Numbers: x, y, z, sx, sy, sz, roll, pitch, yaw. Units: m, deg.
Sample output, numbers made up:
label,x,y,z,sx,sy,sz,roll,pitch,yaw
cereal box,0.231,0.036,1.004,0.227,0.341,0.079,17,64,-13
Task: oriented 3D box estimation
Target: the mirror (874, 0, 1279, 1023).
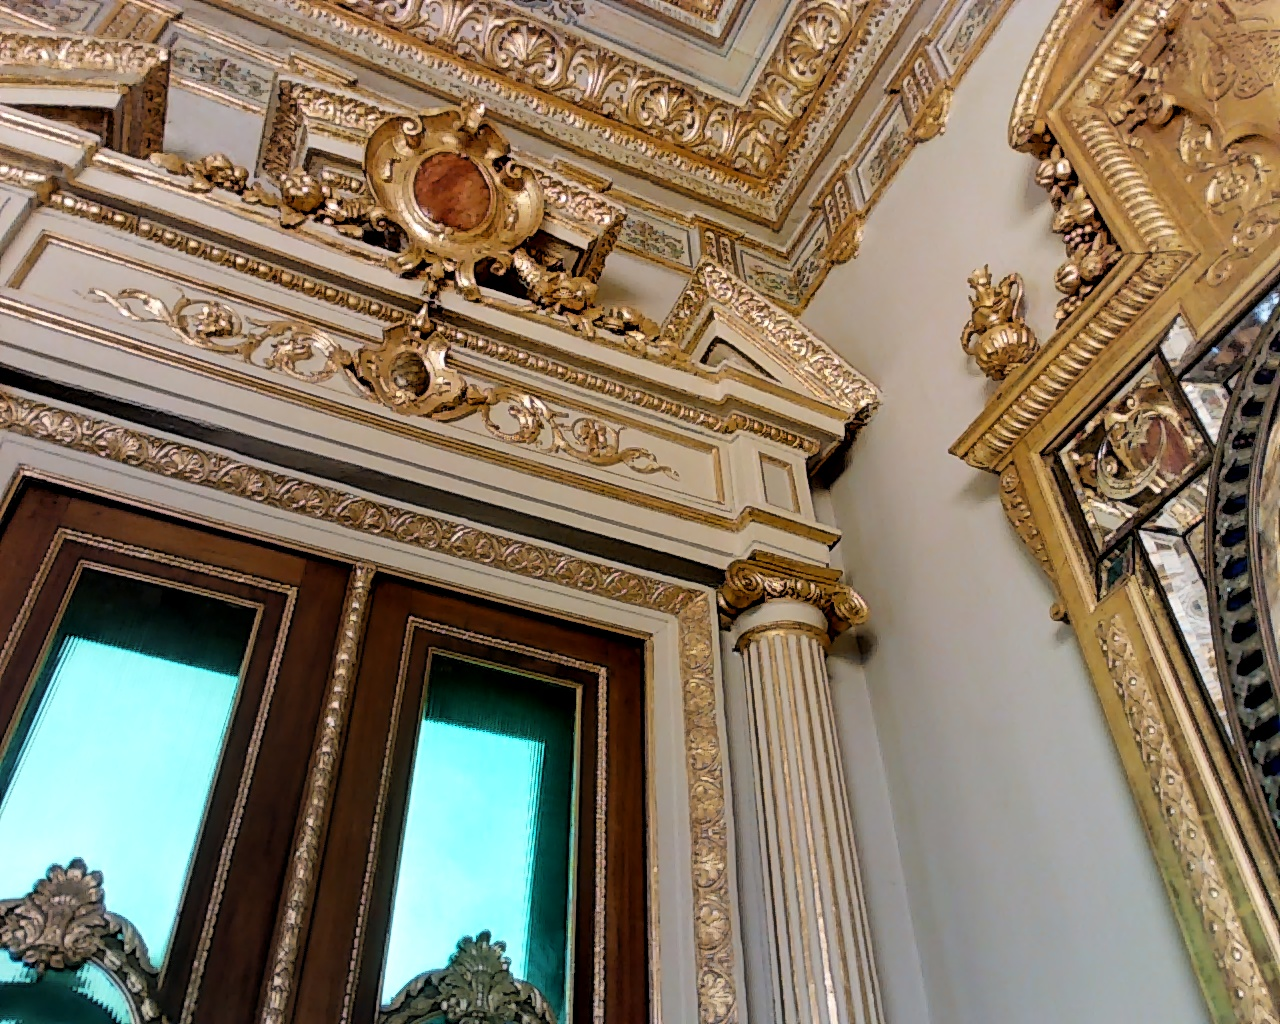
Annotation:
label,x,y,z,sx,sy,sz,roll,pitch,yaw
mirror,1.249,-0.200,1.490,0.200,3.341,2.140,16,-46,-17
